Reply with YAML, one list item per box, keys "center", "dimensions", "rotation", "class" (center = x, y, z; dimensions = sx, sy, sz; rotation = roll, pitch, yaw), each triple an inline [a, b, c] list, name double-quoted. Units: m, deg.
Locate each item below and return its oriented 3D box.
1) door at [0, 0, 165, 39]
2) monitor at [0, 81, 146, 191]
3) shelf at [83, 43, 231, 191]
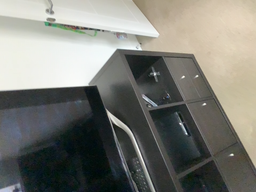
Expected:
- center: [-0.640, -0.750, 1.460]
  dimensions: [0.780, 2.010, 0.120]
  rotation: [55, 132, 28]
  class: "door"
- center: [-0.210, 0.500, 0.880]
  dimensions: [0.060, 0.720, 1.250]
  rotation: [-42, 65, 43]
  class: "monitor"
- center: [0.210, 0.440, 1.220]
  dimensions: [0.440, 0.360, 1.470]
  rotation: [-40, 66, 45]
  class: "shelf"
